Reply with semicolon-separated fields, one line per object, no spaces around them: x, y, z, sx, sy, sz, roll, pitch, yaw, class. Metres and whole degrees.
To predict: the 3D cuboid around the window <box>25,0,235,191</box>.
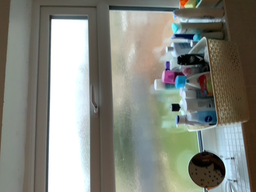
0.010;0.040;1.100;0.050;0.990;1.160;123;144;-76;window
